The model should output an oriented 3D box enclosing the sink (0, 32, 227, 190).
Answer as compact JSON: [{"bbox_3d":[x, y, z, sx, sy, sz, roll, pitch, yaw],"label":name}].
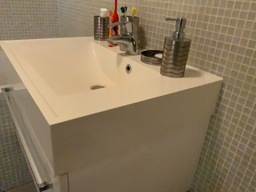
[{"bbox_3d":[-0.130,-0.080,0.760,0.520,0.160,0.700,-12,31,-33],"label":"sink"}]
